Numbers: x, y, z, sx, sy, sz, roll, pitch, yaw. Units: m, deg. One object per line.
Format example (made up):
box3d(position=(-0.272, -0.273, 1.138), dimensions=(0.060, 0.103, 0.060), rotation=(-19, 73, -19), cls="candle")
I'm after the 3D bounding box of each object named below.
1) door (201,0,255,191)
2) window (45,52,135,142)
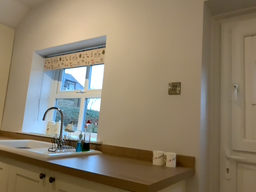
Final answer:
box3d(position=(0.940, 0.320, 1.360), dimensions=(0.890, 2.040, 0.090), rotation=(-2, -9, 35), cls="door")
box3d(position=(-0.520, 0.020, 2.550), dimensions=(1.310, 0.910, 0.090), rotation=(-2, -10, 35), cls="window")
